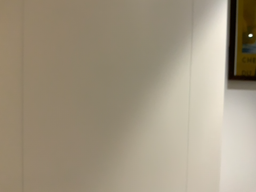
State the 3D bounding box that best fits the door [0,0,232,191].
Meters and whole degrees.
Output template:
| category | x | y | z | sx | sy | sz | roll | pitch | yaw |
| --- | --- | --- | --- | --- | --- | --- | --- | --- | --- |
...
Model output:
| category | x | y | z | sx | sy | sz | roll | pitch | yaw |
| --- | --- | --- | --- | --- | --- | --- | --- | --- | --- |
| door | -0.050 | 0.490 | 0.780 | 0.800 | 2.030 | 0.030 | 1 | 3 | -6 |
